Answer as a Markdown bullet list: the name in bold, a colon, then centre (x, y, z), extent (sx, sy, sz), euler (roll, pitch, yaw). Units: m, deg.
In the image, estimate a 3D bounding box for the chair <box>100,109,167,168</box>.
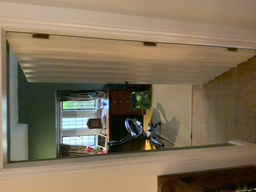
- **chair**: centre (0.050, 0.750, 3.940), extent (0.720, 1.000, 0.710), euler (-114, 28, -53)
